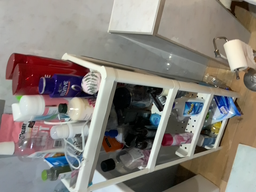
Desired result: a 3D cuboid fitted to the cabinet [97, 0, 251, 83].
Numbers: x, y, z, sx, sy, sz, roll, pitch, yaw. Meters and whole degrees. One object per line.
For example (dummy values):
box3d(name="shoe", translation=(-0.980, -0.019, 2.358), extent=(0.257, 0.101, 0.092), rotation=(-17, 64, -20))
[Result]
box3d(name="cabinet", translation=(0.290, -0.260, 0.980), extent=(0.220, 0.850, 0.260), rotation=(25, 104, 42))
